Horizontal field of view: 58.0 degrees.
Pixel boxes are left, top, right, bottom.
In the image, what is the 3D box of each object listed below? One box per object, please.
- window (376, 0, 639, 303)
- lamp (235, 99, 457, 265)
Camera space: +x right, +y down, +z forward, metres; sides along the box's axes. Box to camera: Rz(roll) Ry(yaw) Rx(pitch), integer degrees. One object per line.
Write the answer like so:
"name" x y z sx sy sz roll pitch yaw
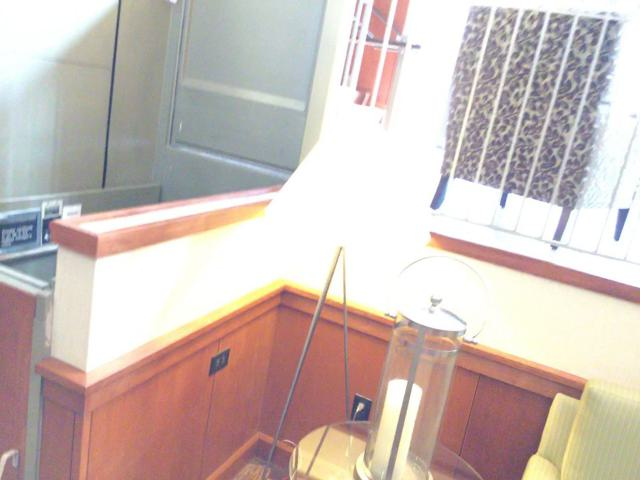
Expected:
"window" 1.730 -0.200 1.930 2.840 0.980 0.790 16 15 23
"lamp" 0.100 -0.230 2.040 0.590 0.410 0.460 16 15 23
